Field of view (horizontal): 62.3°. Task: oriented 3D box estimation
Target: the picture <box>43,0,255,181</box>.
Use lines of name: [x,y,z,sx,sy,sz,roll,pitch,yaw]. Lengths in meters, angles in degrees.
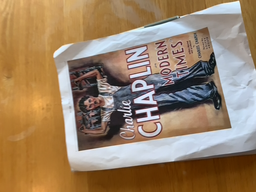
picture: [0.030,-0.010,0.320,0.320,0.040,0.240,-8,81,13]
